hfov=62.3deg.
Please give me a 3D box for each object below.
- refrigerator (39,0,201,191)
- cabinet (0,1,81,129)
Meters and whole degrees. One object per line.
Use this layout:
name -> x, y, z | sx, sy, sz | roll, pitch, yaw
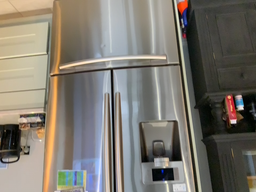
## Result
refrigerator -> -0.050, 0.120, 1.690 | 0.920, 1.840, 0.730 | -4, 164, 5
cabinet -> -1.260, -0.200, 1.980 | 1.470, 0.930, 0.610 | -4, 164, 5
